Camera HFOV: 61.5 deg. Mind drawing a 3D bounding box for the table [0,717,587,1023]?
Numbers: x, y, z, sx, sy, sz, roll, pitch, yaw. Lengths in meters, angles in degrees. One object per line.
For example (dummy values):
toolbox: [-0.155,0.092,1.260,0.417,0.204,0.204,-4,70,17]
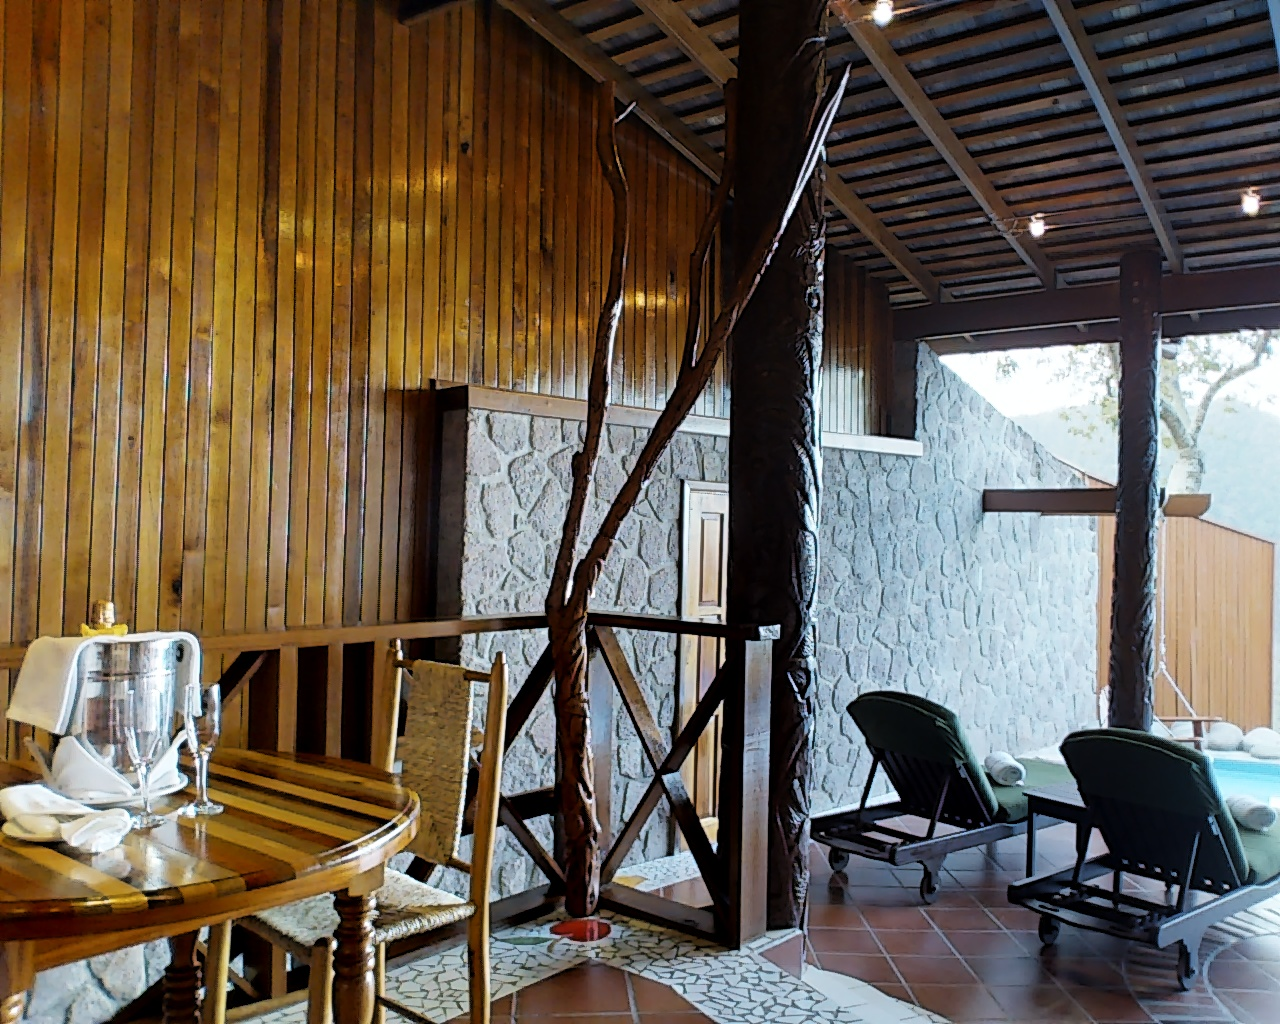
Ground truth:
table: [-0.860,0.860,1.820,1.030,0.760,1.120,1,-1,41]
